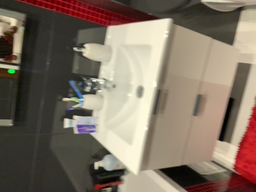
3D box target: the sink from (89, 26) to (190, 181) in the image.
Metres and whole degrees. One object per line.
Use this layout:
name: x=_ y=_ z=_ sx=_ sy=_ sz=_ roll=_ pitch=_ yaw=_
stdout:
sink: x=0.010 y=0.000 z=1.050 sx=0.470 sy=0.140 sz=0.620 roll=22 pitch=104 yaw=54
